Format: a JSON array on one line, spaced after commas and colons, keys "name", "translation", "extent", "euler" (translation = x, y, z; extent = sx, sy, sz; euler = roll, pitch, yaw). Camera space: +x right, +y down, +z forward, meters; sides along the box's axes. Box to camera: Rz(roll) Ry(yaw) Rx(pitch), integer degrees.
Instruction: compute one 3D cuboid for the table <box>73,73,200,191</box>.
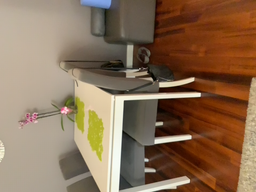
[{"name": "table", "translation": [-0.050, 0.250, 2.180], "extent": [1.240, 0.760, 0.820], "euler": [-154, 65, -61]}]
